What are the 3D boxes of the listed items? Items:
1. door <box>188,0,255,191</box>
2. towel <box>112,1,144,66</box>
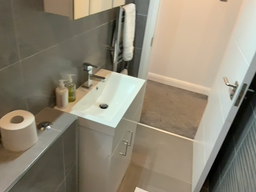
[{"bbox_3d":[0.770,-0.190,1.600,0.070,1.970,0.840,15,32,11],"label":"door"},{"bbox_3d":[0.000,-0.520,1.750,0.110,0.440,0.320,16,32,12],"label":"towel"}]
